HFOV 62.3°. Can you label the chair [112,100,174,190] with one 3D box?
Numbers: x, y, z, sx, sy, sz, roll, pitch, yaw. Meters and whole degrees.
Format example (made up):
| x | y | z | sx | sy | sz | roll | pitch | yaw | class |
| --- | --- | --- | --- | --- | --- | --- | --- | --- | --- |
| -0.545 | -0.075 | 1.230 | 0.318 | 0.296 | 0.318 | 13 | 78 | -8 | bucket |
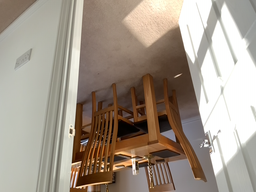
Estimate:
| x | y | z | sx | sy | sz | roll | pitch | yaw | class |
| --- | --- | --- | --- | --- | --- | --- | --- | --- | --- |
| 0.180 | 0.690 | 2.890 | 0.440 | 1.040 | 0.640 | -25 | 145 | 33 | chair |
